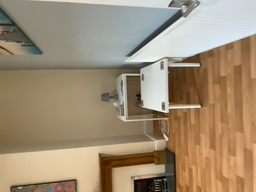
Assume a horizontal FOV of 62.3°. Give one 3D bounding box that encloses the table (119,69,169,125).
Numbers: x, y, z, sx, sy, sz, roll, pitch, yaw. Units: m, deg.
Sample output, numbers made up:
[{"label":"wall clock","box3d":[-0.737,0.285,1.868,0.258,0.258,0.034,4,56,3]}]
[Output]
[{"label":"table","box3d":[0.240,-0.010,3.660,0.810,0.630,0.850,-167,75,-77]}]
